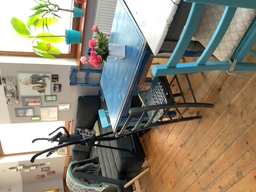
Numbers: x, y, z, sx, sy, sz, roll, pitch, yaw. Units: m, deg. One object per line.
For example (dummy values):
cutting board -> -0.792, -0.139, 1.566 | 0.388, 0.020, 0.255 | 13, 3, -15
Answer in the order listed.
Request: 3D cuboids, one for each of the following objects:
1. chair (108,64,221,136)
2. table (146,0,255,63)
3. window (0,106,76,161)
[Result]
chair -> 0.300, 0.030, 1.930 | 0.400, 0.830, 0.450 | 114, 147, -47
table -> 0.570, -0.530, 1.350 | 0.630, 0.740, 0.170 | 110, 150, -43
window -> -2.280, 0.920, 5.080 | 1.650, 1.850, 0.270 | 110, 150, -42
